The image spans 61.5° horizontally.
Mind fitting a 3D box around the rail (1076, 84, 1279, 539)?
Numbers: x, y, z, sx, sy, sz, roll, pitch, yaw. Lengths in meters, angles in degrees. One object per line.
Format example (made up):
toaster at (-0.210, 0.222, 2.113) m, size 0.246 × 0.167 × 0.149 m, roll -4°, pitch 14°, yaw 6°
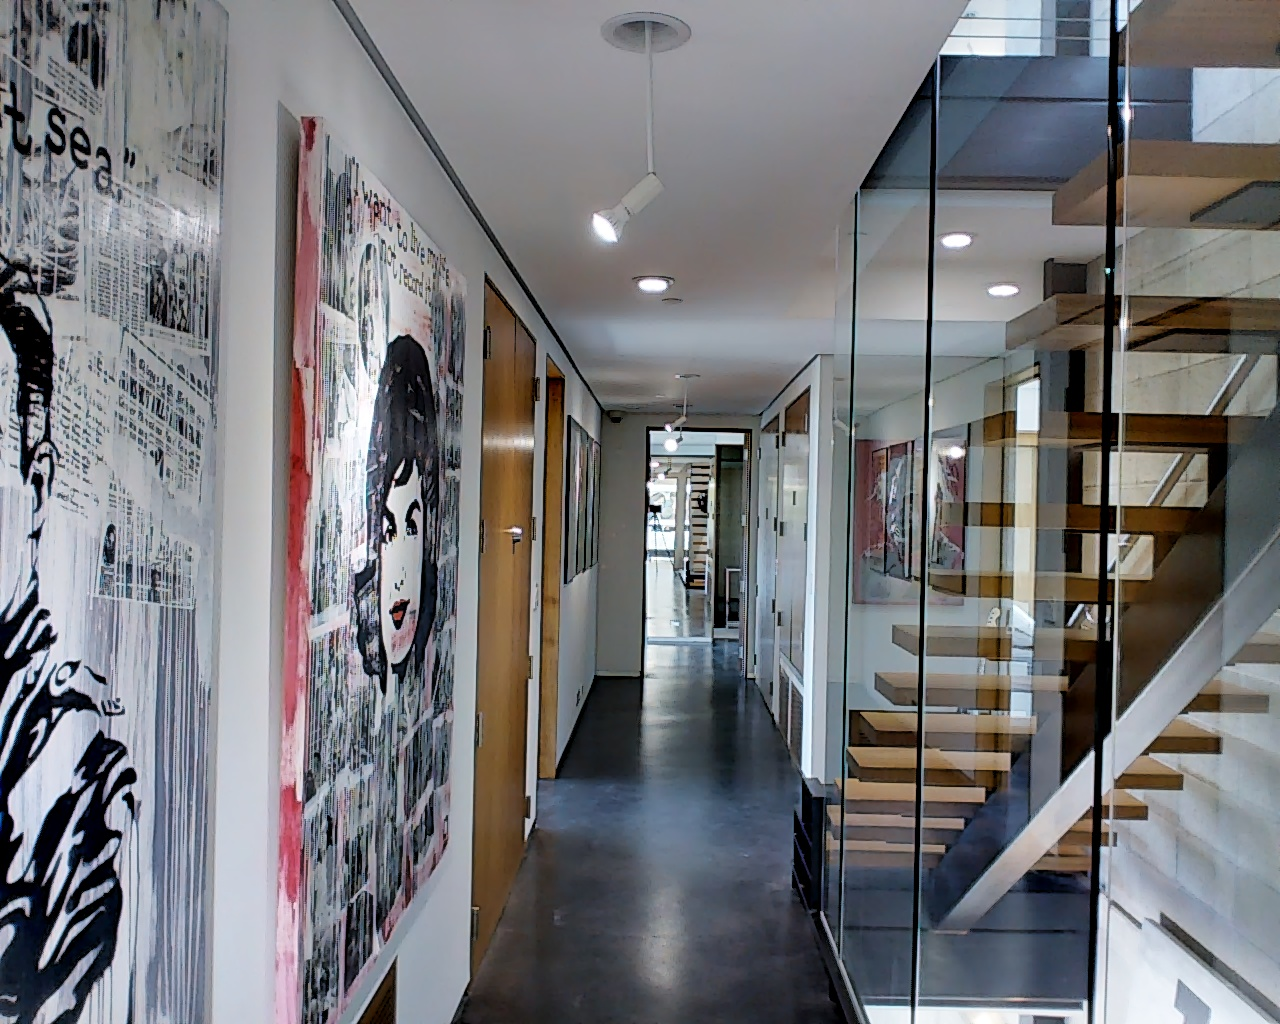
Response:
rail at (1.880, -0.310, 2.950) m, size 0.130 × 0.740 × 3.690 m, roll 1°, pitch 36°, yaw 2°
